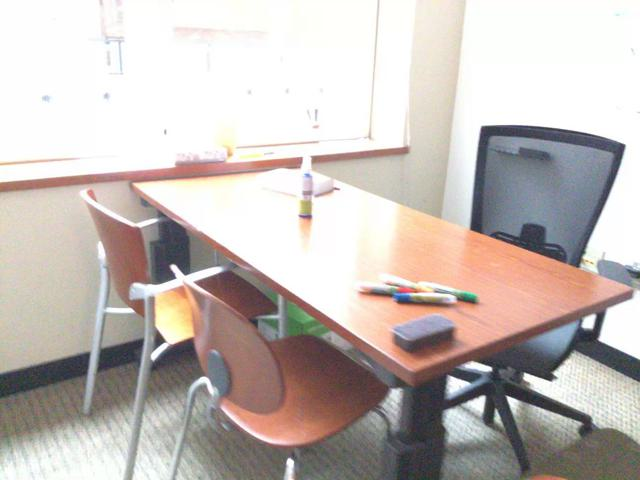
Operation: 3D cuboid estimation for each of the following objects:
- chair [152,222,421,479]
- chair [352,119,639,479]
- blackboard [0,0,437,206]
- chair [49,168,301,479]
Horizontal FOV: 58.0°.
[{"bbox_3d":[-0.100,0.250,1.480,0.500,0.430,0.470,-10,20,-29],"label":"chair"},{"bbox_3d":[0.600,0.160,1.880,0.660,1.000,0.720,-13,21,-36],"label":"chair"},{"bbox_3d":[-0.490,-0.690,2.360,2.020,0.830,0.520,-10,20,-28],"label":"blackboard"},{"bbox_3d":[-0.490,0.240,1.950,0.610,0.820,0.650,-10,20,-29],"label":"chair"}]
